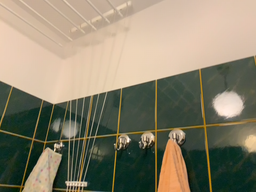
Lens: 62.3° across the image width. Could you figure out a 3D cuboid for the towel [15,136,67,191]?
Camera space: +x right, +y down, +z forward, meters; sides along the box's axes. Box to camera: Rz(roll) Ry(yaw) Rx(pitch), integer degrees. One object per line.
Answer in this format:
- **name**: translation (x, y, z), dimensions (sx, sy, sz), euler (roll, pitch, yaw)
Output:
- **towel**: translation (-0.460, 0.430, 1.110), dimensions (0.190, 0.380, 0.200), euler (12, -25, -18)
